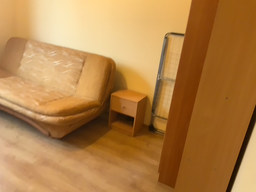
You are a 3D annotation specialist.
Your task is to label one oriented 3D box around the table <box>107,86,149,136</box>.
[{"bbox_3d":[-0.010,0.180,2.780,0.400,0.490,0.300,17,23,24],"label":"table"}]
